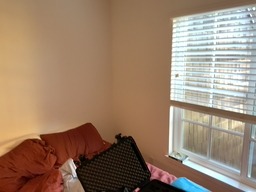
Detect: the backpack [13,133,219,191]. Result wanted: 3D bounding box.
[{"bbox_3d":[-0.050,0.600,1.280,1.010,0.370,0.660,-8,14,-37],"label":"backpack"}]
